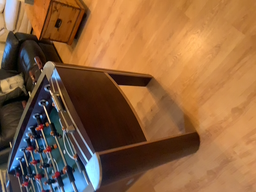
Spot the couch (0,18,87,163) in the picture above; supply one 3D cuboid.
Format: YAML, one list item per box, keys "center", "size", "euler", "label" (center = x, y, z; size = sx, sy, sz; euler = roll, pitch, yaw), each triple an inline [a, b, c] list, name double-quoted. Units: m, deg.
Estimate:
- center: [-1.460, -0.130, 2.850]
  size: [0.970, 0.940, 1.630]
  euler: [-53, 55, 32]
  label: "couch"

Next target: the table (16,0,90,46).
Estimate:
- center: [-1.010, -1.220, 2.690]
  size: [0.550, 0.500, 1.040]
  euler: [-54, 55, 31]
  label: "table"

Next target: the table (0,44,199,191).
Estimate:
- center: [-0.430, 0.560, 1.800]
  size: [1.640, 0.840, 0.860]
  euler: [-54, 54, 31]
  label: "table"
